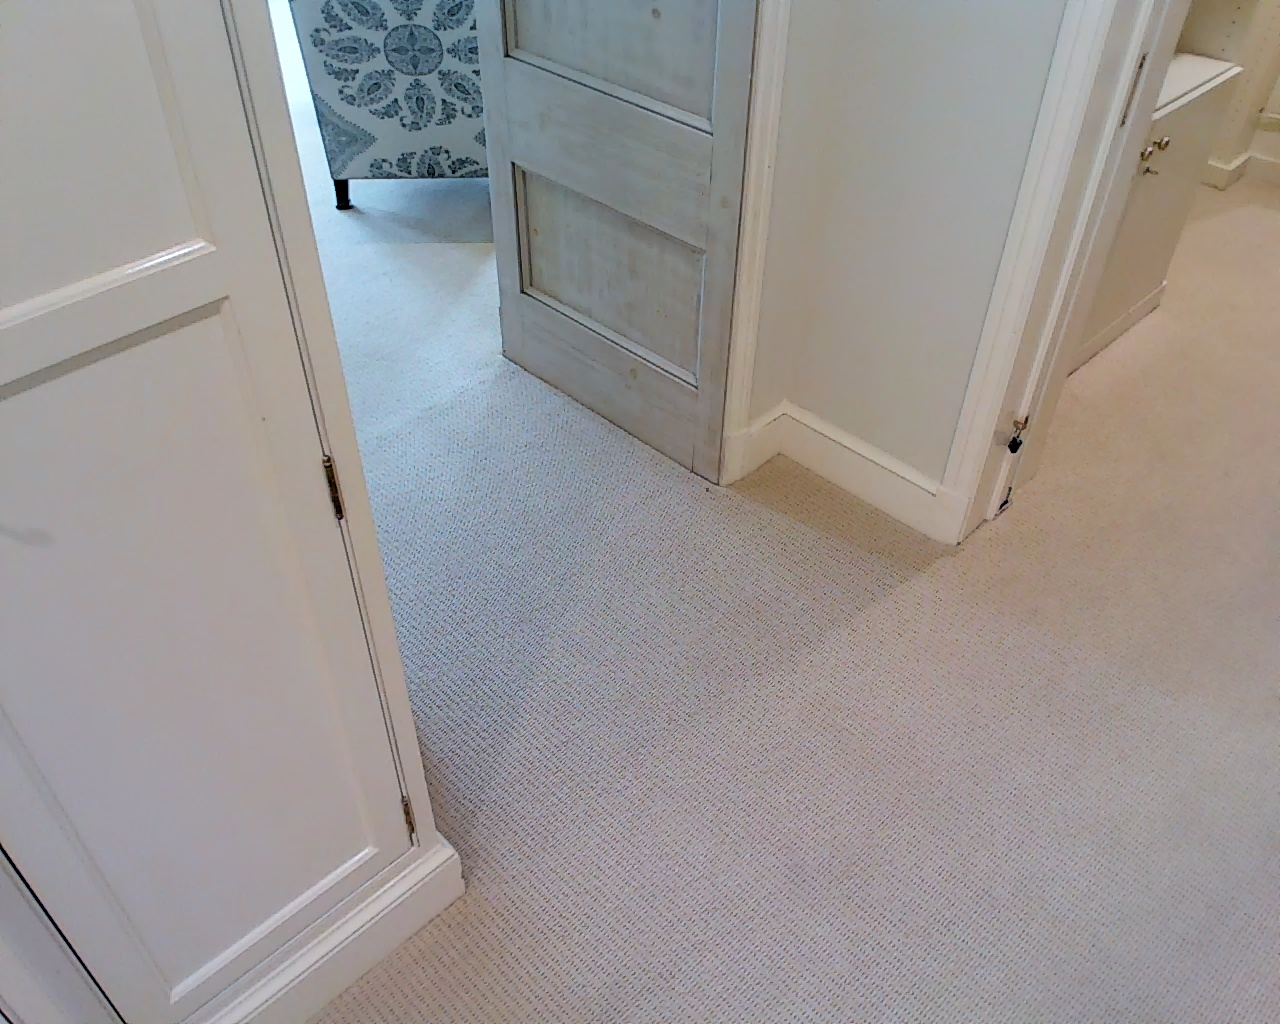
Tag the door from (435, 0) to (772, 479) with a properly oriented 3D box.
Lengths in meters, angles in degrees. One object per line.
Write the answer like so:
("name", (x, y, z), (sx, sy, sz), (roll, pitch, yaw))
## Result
("door", (-0.110, -1.050, 2.010), (0.860, 2.040, 0.060), (33, 51, 31))
